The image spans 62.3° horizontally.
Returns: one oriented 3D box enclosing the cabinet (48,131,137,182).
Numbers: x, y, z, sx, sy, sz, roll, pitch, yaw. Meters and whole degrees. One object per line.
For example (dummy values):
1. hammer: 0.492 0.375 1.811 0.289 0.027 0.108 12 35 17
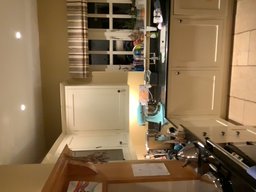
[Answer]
1. cabinet: -0.400 0.690 2.600 0.800 0.910 0.270 -122 32 -79
